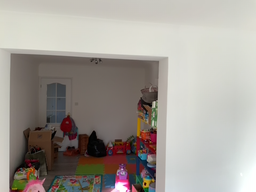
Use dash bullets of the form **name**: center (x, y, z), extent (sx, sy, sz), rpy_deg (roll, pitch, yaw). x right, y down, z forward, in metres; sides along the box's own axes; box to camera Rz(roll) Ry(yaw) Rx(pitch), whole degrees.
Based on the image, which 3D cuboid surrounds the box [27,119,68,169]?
- **box**: center (-1.730, 1.010, 4.620), extent (0.690, 0.930, 0.580), rpy_deg (1, 2, -6)
